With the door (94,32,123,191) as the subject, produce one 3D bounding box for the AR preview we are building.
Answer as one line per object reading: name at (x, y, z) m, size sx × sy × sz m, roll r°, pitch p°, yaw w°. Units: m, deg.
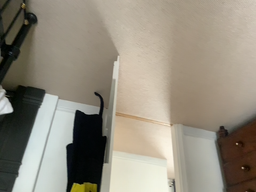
door at (-0.180, 0.570, 1.390) m, size 0.060 × 1.790 × 1.000 m, roll 7°, pitch 145°, yaw -6°
